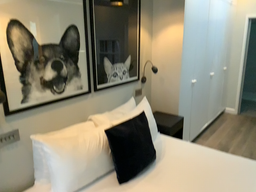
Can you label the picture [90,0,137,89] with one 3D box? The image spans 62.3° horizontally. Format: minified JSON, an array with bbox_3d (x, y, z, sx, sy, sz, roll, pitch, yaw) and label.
[{"bbox_3d":[-0.110,-0.630,2.130,0.010,1.010,0.710,10,18,34],"label":"picture"}]
